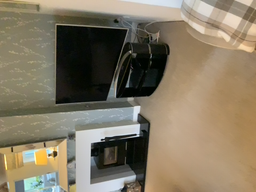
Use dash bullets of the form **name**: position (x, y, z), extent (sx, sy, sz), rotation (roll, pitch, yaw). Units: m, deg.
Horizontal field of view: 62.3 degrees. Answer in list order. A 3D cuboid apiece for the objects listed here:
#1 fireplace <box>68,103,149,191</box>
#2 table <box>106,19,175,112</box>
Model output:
- **fireplace**: position (-0.370, 0.940, 3.370), extent (0.840, 0.990, 1.410), rotation (-144, 55, -62)
- **table**: position (0.090, -0.350, 2.860), extent (1.120, 0.420, 0.600), rotation (117, 143, -50)
